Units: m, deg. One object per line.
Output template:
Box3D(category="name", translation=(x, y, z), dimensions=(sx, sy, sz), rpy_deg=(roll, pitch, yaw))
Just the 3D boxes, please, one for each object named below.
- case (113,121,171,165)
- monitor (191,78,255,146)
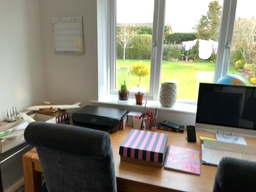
Box3D(category="case", translation=(0.120, 0.320, 1.550), dimensions=(0.330, 0.100, 0.410), rpy_deg=(6, 15, 17))
Box3D(category="monitor", translation=(0.840, 0.130, 1.680), dimensions=(0.570, 0.440, 0.050), rpy_deg=(13, 17, 14))
